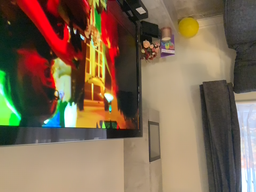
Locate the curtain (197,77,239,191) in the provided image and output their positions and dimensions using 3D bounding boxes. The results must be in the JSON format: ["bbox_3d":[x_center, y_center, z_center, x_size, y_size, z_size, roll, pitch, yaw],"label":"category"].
[{"bbox_3d":[0.830,0.590,1.920,0.270,1.470,0.260,-5,169,25],"label":"curtain"}]
